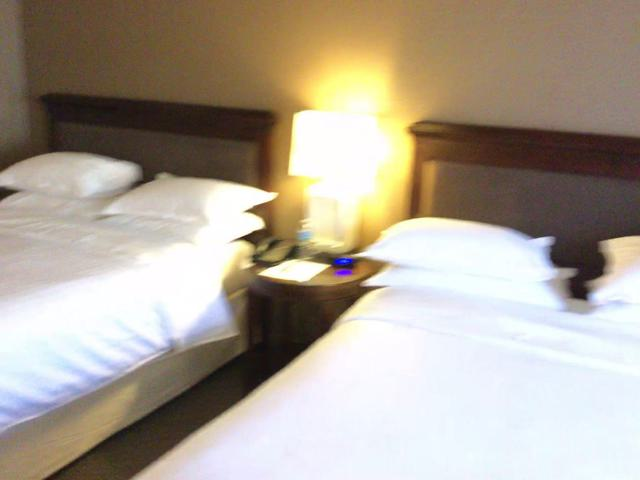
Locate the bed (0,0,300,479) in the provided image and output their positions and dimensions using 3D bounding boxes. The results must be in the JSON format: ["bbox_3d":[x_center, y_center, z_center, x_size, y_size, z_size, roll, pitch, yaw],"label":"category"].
[{"bbox_3d":[-1.500,-0.010,2.510,2.010,1.640,2.130,7,9,23],"label":"bed"}]
